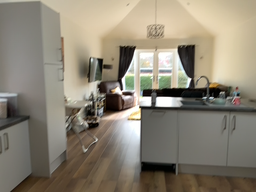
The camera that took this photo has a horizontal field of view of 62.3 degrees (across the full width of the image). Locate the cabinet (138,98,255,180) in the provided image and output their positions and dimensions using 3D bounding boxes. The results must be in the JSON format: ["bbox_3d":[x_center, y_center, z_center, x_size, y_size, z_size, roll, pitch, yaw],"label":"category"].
[{"bbox_3d":[0.950,0.530,2.950,1.580,0.900,0.690,1,8,6],"label":"cabinet"}]

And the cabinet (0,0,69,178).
[{"bbox_3d":[-1.250,-0.090,2.810,0.640,2.110,0.630,1,8,7],"label":"cabinet"}]
